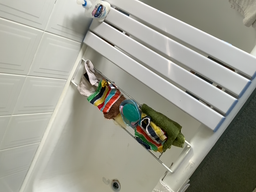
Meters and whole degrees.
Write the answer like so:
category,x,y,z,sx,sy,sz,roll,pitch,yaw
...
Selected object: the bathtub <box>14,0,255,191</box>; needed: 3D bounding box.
category,x,y,z,sx,sy,sz,roll,pitch,yaw
bathtub,0.080,0.120,1.160,0.720,0.590,1.700,36,107,25
